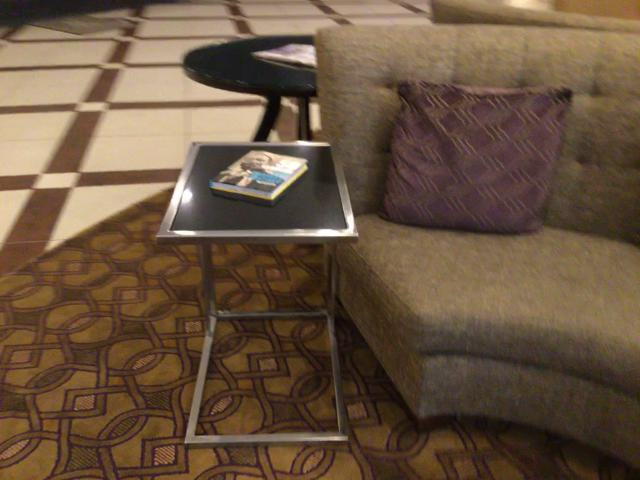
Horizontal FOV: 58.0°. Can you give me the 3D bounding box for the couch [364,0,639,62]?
[{"bbox_3d":[0.960,-0.780,2.100,1.540,0.160,0.490,17,29,28],"label":"couch"}]
